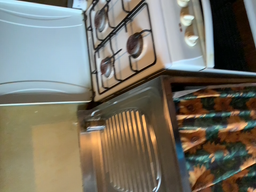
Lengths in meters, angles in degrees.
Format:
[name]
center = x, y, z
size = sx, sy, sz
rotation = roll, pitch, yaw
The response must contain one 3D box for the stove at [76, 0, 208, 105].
[stove]
center = -0.010, -0.270, 0.970
size = 0.620, 0.200, 0.510
rotation = -22, 73, 54
